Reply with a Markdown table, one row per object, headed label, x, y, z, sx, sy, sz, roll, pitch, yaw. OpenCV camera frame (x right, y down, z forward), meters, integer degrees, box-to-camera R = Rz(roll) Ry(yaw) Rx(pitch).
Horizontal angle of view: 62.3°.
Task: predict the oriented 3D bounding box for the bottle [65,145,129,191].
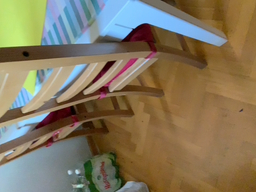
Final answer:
| label | x | y | z | sx | sy | sz | roll | pitch | yaw |
| --- | --- | --- | --- | --- | --- | --- | --- | --- | --- |
| bottle | -0.210 | 0.530 | 1.490 | 0.190 | 0.340 | 0.250 | -31 | 74 | 37 |
